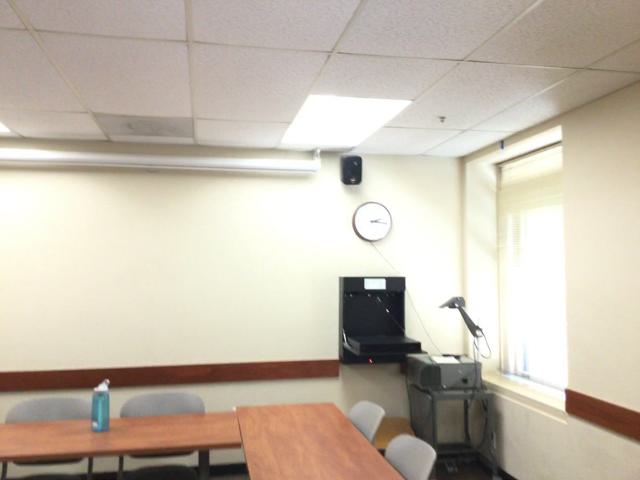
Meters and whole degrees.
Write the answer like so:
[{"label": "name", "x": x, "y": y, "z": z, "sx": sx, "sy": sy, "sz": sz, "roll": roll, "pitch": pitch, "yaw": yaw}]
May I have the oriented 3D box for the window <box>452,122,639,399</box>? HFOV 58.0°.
[{"label": "window", "x": 1.510, "y": 0.130, "z": 3.910, "sx": 0.660, "sy": 1.520, "sz": 1.360, "roll": 0, "pitch": -2, "yaw": -13}]
